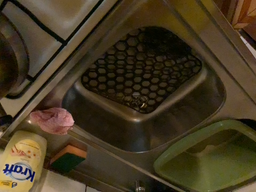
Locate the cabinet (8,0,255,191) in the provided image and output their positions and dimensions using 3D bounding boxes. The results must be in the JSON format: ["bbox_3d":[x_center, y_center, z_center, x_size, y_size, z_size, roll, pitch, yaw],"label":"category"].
[{"bbox_3d":[0.150,-0.140,0.960,0.580,0.850,0.800,-37,123,27],"label":"cabinet"}]
